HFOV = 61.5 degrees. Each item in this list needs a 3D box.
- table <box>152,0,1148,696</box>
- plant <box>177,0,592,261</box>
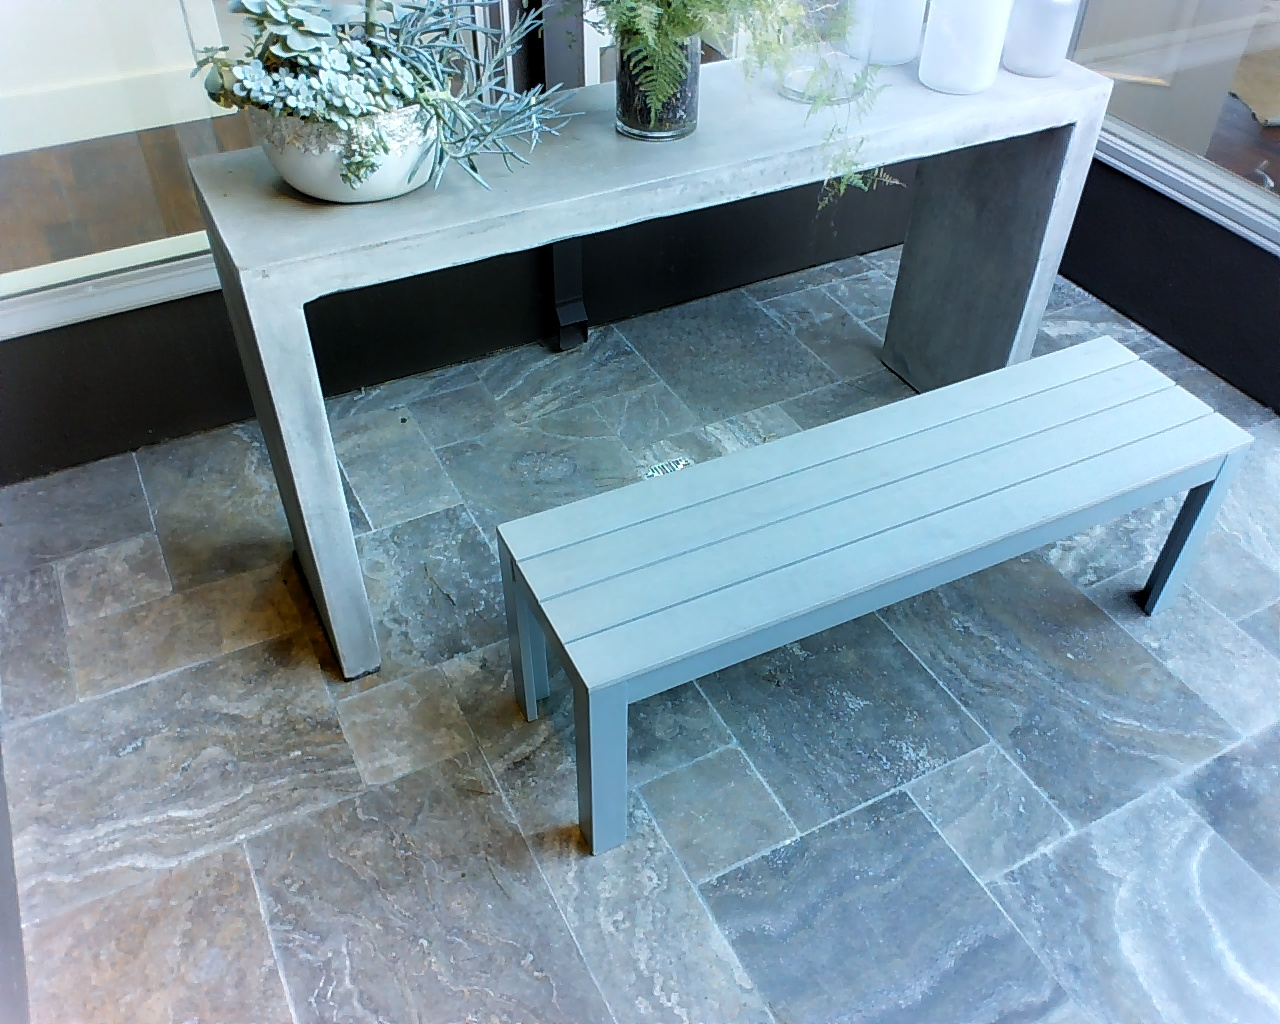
[{"bbox_3d":[0.080,-0.380,2.110,1.670,0.860,0.460,-19,46,-21],"label":"table"},{"bbox_3d":[-0.370,-0.650,1.550,0.490,0.350,0.360,-17,45,-19],"label":"plant"}]
